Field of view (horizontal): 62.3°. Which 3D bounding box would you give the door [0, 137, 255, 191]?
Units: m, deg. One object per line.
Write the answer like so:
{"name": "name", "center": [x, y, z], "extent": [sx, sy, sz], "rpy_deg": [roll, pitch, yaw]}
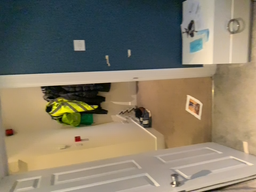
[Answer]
{"name": "door", "center": [0.040, 0.570, 1.580], "extent": [0.960, 2.010, 0.040], "rpy_deg": [-174, 80, -73]}
